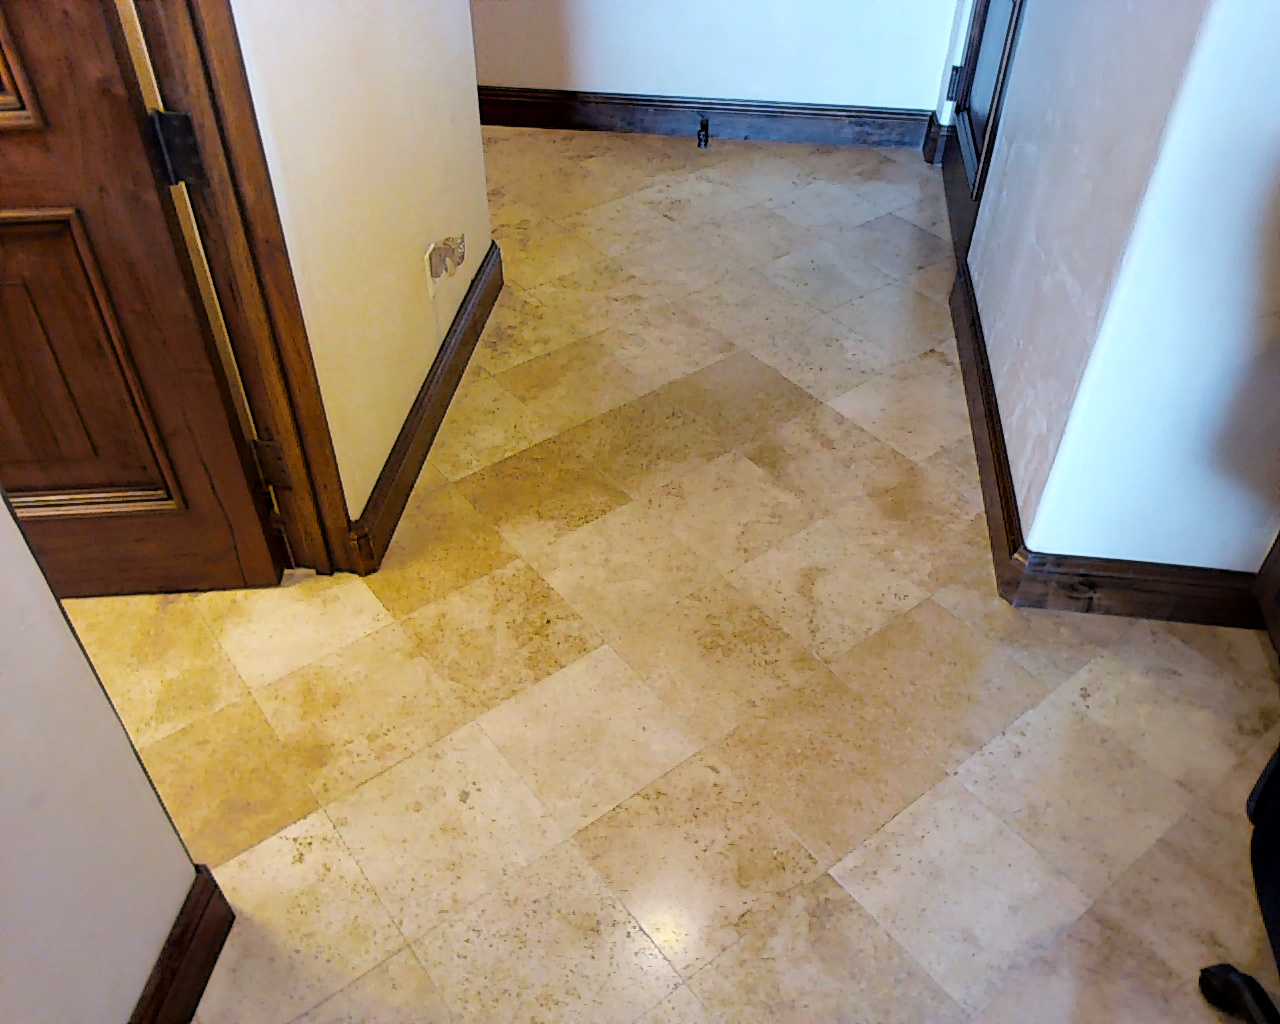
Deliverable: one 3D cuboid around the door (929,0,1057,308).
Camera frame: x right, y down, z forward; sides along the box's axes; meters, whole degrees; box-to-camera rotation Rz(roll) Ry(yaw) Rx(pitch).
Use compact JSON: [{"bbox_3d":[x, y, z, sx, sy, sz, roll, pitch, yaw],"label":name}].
[{"bbox_3d":[1.000,-1.780,2.610,0.090,2.420,0.860,5,42,6],"label":"door"}]
